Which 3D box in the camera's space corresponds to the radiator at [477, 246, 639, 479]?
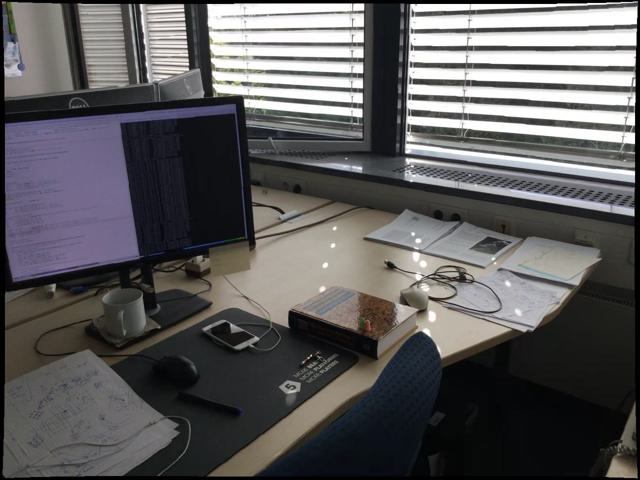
[{"bbox_3d":[1.029,0.420,1.960,0.810,0.530,0.450,14,27,35],"label":"radiator"}]
